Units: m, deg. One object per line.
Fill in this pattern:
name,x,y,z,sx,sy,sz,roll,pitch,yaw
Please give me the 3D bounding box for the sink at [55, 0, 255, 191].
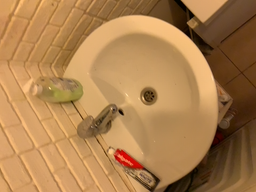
sink,0.060,-0.020,0.690,0.390,0.200,0.490,-44,73,24
